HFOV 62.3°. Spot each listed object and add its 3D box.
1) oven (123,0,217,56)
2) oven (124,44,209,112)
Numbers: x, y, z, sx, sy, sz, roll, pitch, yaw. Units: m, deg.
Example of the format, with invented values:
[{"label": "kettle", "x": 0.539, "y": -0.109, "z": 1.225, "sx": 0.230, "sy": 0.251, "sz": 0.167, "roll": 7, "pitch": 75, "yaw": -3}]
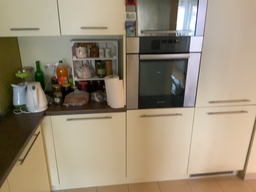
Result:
[{"label": "oven", "x": 0.290, "y": -0.670, "z": 1.850, "sx": 0.590, "sy": 0.510, "sz": 0.740, "roll": -2, "pitch": 20, "yaw": -7}, {"label": "oven", "x": 0.290, "y": -0.220, "z": 2.020, "sx": 0.590, "sy": 0.450, "sz": 0.730, "roll": -2, "pitch": 20, "yaw": -7}]
